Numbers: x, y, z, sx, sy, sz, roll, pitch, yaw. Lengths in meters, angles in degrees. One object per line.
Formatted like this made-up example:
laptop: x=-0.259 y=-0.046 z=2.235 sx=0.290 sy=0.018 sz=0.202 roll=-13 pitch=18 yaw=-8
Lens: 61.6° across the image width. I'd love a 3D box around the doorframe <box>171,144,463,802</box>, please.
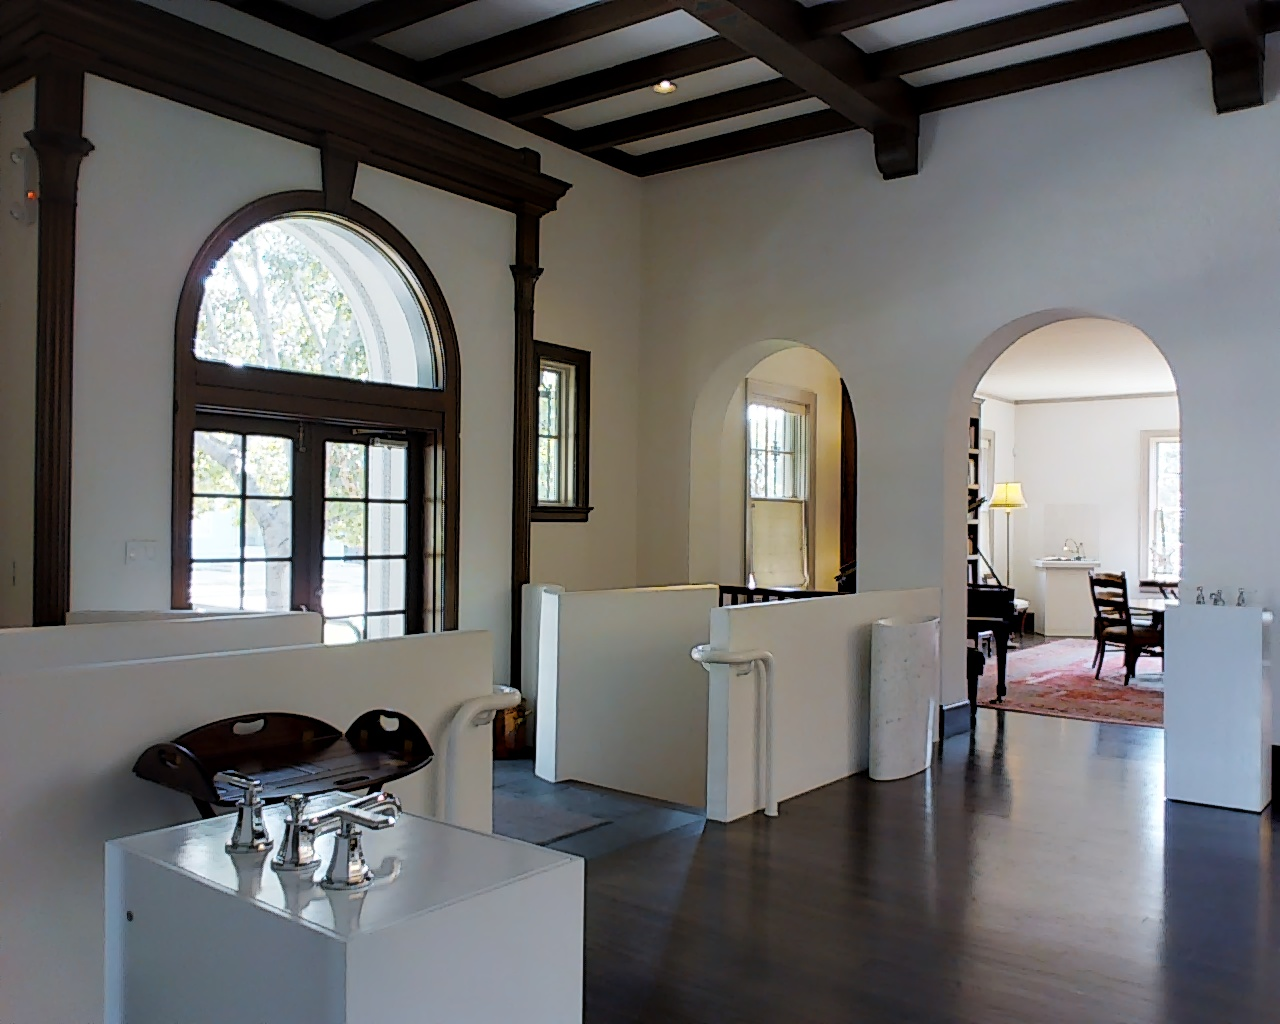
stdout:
doorframe: x=-1.760 y=-0.190 z=6.130 sx=0.190 sy=3.300 sz=1.770 roll=0 pitch=0 yaw=38
